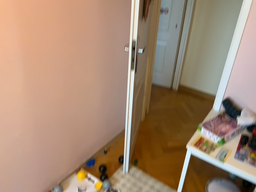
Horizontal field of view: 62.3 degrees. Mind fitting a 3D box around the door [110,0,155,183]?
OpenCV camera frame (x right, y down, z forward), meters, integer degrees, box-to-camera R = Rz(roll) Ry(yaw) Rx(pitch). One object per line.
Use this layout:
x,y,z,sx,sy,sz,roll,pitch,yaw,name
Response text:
0.050,-0.300,1.650,0.130,2.090,0.670,10,31,10,door
